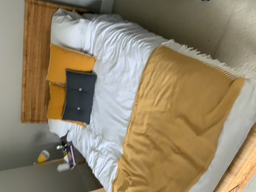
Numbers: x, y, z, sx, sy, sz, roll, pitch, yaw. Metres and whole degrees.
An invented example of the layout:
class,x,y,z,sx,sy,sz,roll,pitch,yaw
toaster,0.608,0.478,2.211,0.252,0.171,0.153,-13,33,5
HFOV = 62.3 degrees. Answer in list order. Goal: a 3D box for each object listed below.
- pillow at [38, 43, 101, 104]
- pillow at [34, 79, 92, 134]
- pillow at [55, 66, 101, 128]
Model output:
class,x,y,z,sx,sy,sz,roll,pitch,yaw
pillow,-0.580,-0.220,2.110,0.390,0.480,0.150,-57,5,23
pillow,-0.690,0.110,2.270,0.390,0.460,0.140,-57,4,16
pillow,-0.500,0.020,2.100,0.590,0.230,0.060,-61,11,17
